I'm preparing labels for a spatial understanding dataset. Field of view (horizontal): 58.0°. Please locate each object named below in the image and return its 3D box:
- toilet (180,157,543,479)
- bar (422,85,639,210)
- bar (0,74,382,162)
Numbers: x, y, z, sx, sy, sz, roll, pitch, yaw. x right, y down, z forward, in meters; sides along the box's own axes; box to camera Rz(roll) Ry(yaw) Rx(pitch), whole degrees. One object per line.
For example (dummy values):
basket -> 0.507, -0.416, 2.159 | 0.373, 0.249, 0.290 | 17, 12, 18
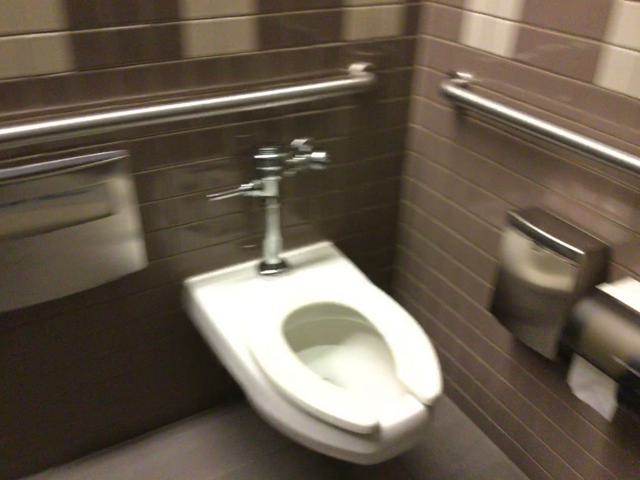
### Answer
toilet -> 0.020, 0.230, 1.320 | 0.480, 0.630, 0.650 | -10, 29, -25
bar -> 0.530, -0.110, 0.960 | 0.090, 0.080, 1.080 | -10, 29, -25
bar -> -0.280, -0.270, 1.230 | 0.910, 0.120, 0.080 | -10, 29, -25
